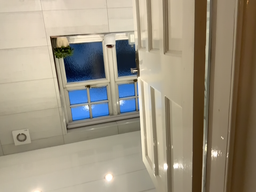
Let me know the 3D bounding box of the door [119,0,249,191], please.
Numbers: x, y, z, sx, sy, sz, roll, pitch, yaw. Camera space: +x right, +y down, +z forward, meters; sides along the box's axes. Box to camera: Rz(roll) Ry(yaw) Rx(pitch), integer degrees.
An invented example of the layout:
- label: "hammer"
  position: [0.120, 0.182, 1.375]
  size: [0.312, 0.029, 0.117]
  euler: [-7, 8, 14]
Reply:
- label: "door"
  position: [0.120, -0.390, 0.970]
  size: [0.110, 2.130, 1.010]
  euler: [-7, -163, -12]
